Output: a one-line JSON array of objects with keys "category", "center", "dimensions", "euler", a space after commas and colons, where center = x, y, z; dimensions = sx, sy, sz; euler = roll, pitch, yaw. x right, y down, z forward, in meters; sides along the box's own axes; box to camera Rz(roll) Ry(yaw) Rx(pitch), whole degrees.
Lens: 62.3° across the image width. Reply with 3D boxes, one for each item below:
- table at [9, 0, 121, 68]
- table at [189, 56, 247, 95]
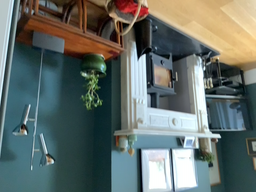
[{"category": "table", "center": [-0.610, -0.710, 2.120], "dimensions": [0.830, 0.510, 0.690], "euler": [10, 163, -41]}, {"category": "table", "center": [1.730, -0.350, 4.060], "dimensions": [1.050, 0.410, 0.590], "euler": [10, 163, -41]}]
